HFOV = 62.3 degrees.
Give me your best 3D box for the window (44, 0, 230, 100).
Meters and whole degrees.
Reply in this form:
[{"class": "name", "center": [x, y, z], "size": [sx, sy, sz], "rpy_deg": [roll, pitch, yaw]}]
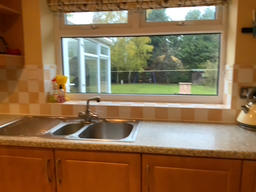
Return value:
[{"class": "window", "center": [0.040, -0.690, 1.910], "size": [1.600, 1.420, 0.170], "rpy_deg": [1, 8, 9]}]
